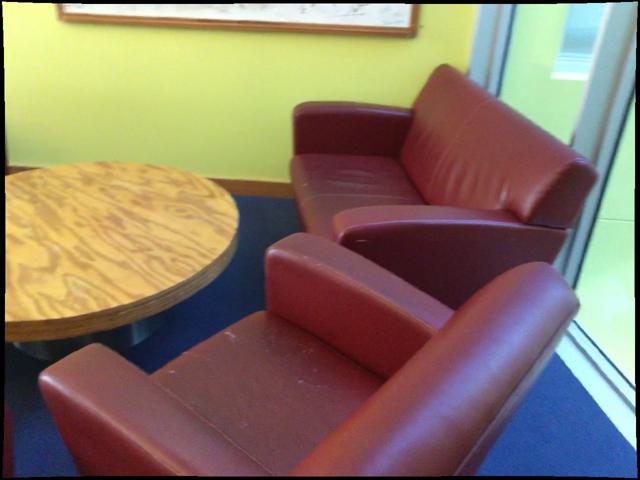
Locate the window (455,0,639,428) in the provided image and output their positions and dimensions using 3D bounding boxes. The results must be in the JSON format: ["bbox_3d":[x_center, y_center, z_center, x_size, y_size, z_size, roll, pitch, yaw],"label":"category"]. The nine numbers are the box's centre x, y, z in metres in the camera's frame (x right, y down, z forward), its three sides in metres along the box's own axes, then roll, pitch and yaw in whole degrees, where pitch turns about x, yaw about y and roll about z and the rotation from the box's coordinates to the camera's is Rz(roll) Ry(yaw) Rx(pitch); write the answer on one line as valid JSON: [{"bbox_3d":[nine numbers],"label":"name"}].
[{"bbox_3d":[0.989,-0.350,2.040,0.140,1.561,1.900,-6,28,-9],"label":"window"}]

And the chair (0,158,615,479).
[{"bbox_3d":[-0.020,0.410,1.370,0.930,0.781,0.860,23,38,35],"label":"chair"}]

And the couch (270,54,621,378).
[{"bbox_3d":[0.340,-0.230,2.480,0.979,0.751,1.390,-5,31,-6],"label":"couch"}]
